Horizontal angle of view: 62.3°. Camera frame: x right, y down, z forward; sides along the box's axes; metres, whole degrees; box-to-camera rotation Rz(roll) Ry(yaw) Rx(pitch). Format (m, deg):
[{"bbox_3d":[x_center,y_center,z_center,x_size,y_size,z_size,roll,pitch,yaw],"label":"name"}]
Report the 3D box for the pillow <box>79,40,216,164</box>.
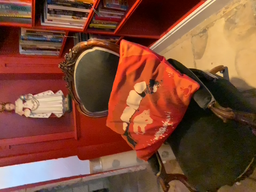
[{"bbox_3d":[0.100,0.060,1.250,0.630,0.450,0.220,-32,7,30],"label":"pillow"}]
